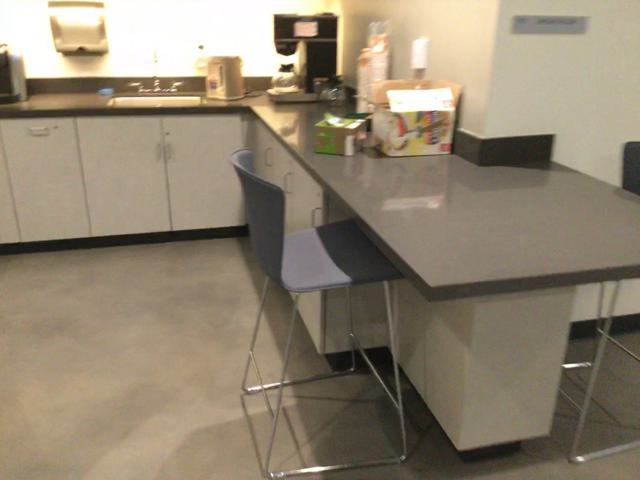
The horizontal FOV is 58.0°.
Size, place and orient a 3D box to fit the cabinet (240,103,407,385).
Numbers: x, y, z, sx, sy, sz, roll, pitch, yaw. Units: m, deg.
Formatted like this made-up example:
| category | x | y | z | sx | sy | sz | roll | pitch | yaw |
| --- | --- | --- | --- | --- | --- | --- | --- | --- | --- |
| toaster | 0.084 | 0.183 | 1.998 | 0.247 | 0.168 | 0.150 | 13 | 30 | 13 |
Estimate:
| category | x | y | z | sx | sy | sz | roll | pitch | yaw |
| --- | --- | --- | --- | --- | --- | --- | --- | --- | --- |
| cabinet | -0.090 | -0.120 | 2.780 | 0.290 | 0.840 | 1.540 | -5 | 22 | -17 |

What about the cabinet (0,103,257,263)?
| category | x | y | z | sx | sy | sz | roll | pitch | yaw |
| --- | --- | --- | --- | --- | --- | --- | --- | --- | --- |
| cabinet | -1.370 | -0.300 | 3.060 | 2.080 | 0.800 | 0.120 | -5 | 22 | -17 |
